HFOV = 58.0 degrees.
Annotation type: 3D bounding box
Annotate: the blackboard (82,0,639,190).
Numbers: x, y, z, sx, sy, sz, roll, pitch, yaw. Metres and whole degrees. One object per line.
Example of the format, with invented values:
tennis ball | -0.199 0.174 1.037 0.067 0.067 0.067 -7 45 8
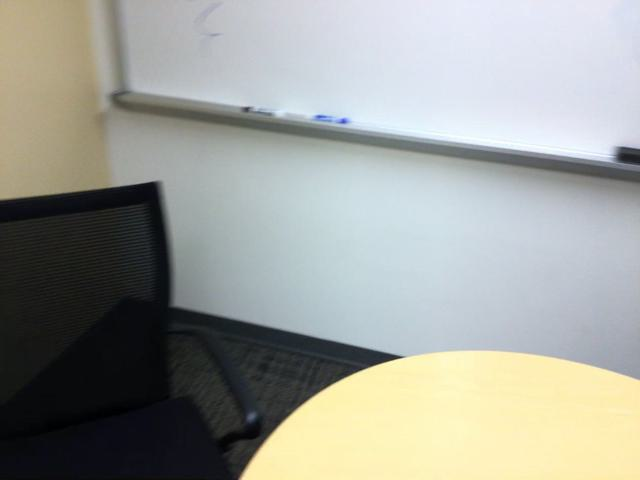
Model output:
blackboard | 0.530 -0.400 1.470 2.450 0.430 0.170 10 26 13
